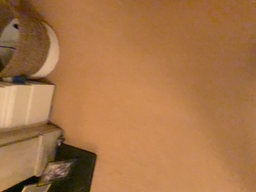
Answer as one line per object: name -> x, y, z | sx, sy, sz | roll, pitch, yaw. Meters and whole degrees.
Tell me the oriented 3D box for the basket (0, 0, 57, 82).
basket -> -0.680, -0.300, 1.160 | 0.330, 0.390, 0.360 | 14, 95, 18
